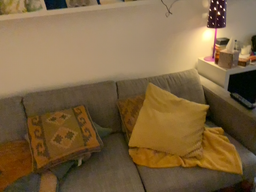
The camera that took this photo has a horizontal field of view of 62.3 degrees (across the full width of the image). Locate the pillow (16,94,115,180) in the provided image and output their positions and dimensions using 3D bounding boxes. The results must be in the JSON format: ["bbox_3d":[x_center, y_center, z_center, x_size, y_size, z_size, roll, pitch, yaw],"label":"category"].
[{"bbox_3d":[-0.400,0.240,1.430,0.520,0.250,0.430,-12,29,-12],"label":"pillow"}]

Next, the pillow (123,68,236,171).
[{"bbox_3d":[0.320,0.170,1.470,0.580,0.200,0.540,-17,70,9],"label":"pillow"}]

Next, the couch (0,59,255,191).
[{"bbox_3d":[-0.340,0.400,1.500,2.430,0.710,0.950,-11,29,-11],"label":"couch"}]
